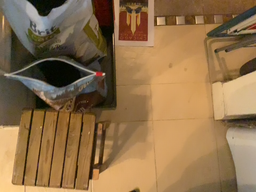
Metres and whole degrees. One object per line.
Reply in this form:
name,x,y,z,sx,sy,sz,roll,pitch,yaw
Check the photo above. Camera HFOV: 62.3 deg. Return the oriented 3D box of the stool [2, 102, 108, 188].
stool,-0.250,0.180,0.850,0.300,0.290,0.250,7,82,-2
